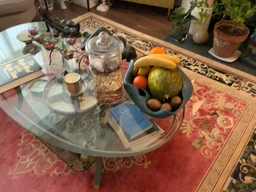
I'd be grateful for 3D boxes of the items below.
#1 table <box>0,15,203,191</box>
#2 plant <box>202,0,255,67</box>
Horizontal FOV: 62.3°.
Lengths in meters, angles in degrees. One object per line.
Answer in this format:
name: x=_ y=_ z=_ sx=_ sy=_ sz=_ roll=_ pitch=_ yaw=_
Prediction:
table: x=-0.270 y=0.000 z=1.320 sx=1.170 sy=0.470 sz=0.610 roll=30 pitch=53 yaw=26
plant: x=0.910 y=-0.570 z=1.920 sx=0.240 sy=0.450 sz=0.320 roll=33 pitch=54 yaw=27
